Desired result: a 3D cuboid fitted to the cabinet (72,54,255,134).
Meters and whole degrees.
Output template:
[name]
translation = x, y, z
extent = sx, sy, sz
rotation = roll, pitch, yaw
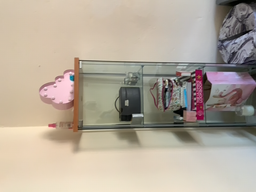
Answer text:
[cabinet]
translation = 0.470, 0.010, 1.460
extent = 0.420, 1.620, 0.420
rotation = 146, 124, -78
